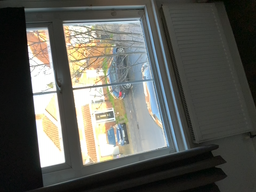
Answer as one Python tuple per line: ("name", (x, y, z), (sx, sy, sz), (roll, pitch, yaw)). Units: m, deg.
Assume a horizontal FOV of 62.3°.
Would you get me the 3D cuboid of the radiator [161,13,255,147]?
("radiator", (0.660, -0.170, 1.660), (0.060, 0.610, 1.010), (138, 122, -71))
